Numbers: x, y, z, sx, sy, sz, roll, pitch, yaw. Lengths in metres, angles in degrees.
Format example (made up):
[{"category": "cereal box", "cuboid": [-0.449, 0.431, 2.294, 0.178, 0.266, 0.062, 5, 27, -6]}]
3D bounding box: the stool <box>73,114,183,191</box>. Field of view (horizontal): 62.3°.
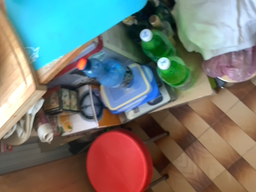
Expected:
[{"category": "stool", "cuboid": [0.020, 0.310, 1.090, 0.310, 0.400, 0.300, -47, 69, 16]}]
